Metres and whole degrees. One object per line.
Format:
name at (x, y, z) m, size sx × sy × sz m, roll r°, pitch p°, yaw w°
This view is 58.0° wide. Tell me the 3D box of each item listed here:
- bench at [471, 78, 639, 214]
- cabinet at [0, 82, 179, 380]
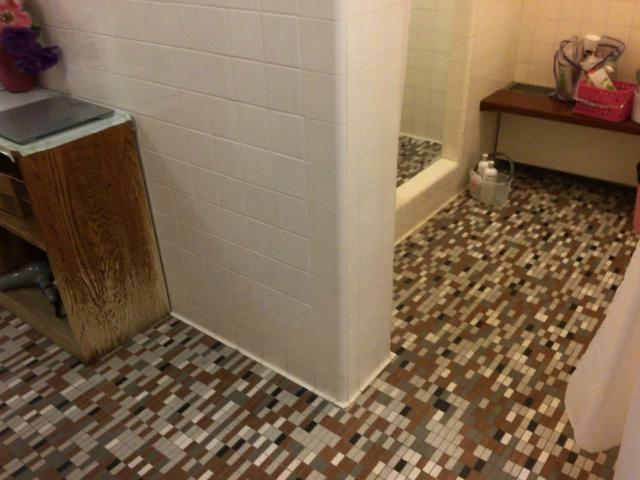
bench at (1.430, -0.350, 2.410) m, size 1.480 × 0.360 × 0.430 m, roll 20°, pitch 36°, yaw 33°
cabinet at (-0.890, -0.060, 1.940) m, size 0.610 × 0.770 × 0.400 m, roll 20°, pitch 36°, yaw 33°
